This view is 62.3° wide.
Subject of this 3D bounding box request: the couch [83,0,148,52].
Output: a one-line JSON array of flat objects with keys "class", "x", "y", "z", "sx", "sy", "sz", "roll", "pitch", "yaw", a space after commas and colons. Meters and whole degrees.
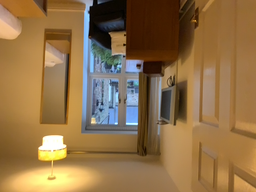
[{"class": "couch", "x": -0.170, "y": -1.090, "z": 3.150, "sx": 0.730, "sy": 0.680, "sz": 0.640, "roll": 1, "pitch": 179, "yaw": 27}]
